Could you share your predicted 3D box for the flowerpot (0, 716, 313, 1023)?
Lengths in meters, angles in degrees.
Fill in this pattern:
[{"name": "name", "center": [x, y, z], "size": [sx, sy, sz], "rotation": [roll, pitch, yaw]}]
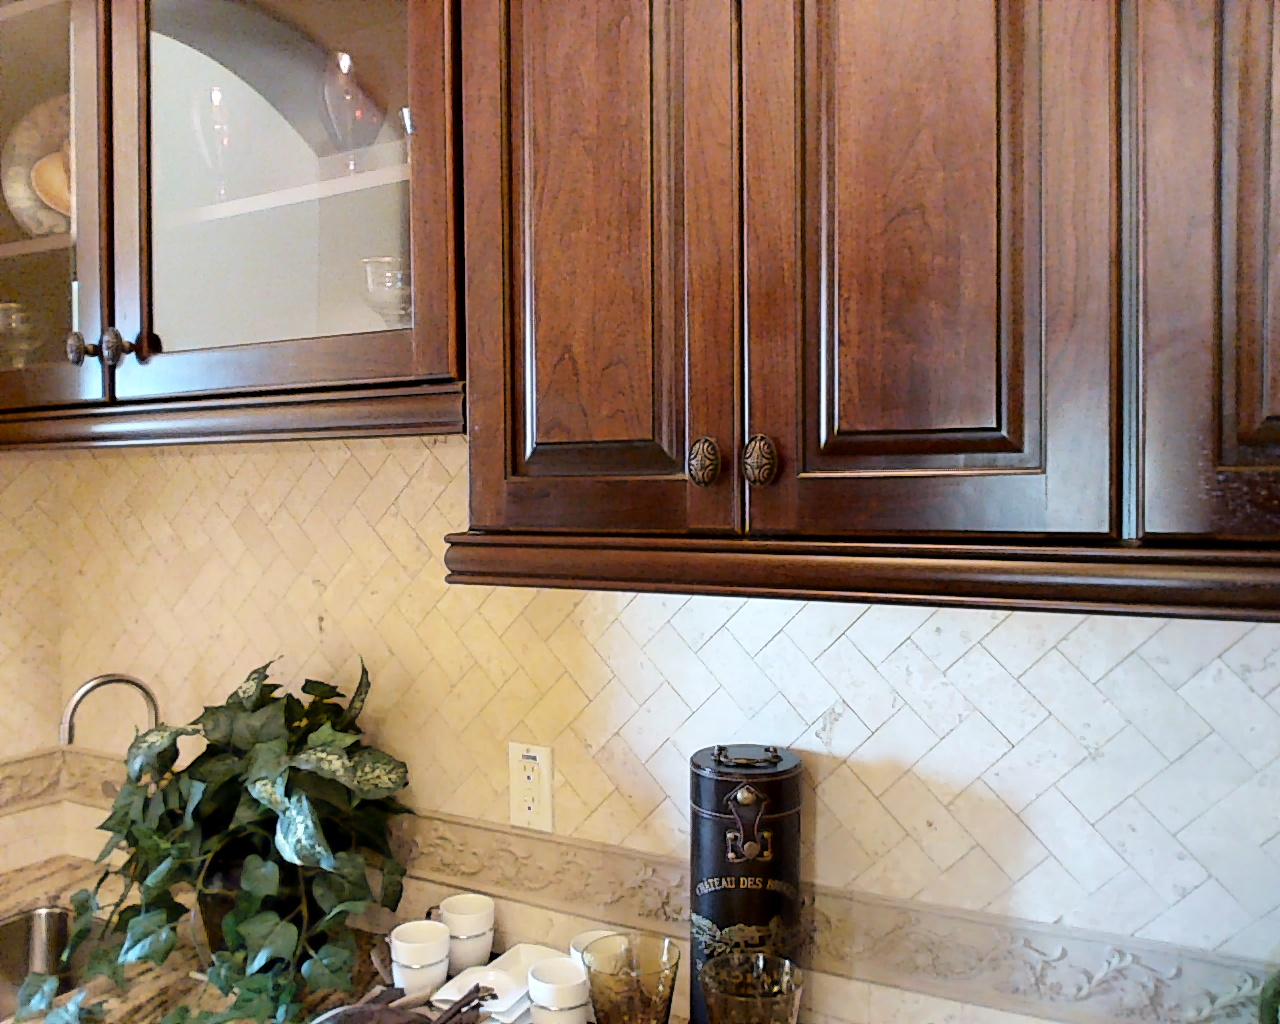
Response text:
[{"name": "flowerpot", "center": [-0.610, 0.450, 1.280], "size": [0.450, 0.340, 0.140], "rotation": [1, 1, 29]}]
